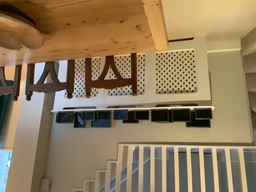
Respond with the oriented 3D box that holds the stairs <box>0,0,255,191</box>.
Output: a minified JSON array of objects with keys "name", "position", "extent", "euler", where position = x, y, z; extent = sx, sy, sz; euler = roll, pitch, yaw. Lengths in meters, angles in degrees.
[{"name":"stairs","position":[0.610,0.700,2.430],"extent":[3.480,3.080,1.930],"euler":[-3,164,18]}]
